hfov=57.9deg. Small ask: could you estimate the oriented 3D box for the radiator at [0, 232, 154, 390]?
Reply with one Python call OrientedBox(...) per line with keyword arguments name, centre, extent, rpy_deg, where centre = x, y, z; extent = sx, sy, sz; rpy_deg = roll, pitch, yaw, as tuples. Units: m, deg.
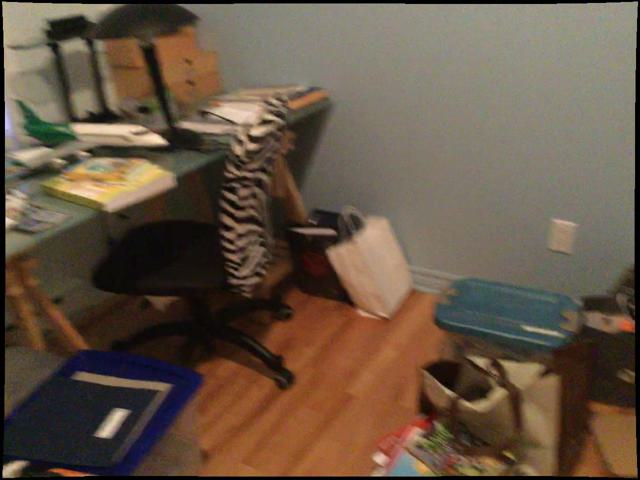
OrientedBox(name="radiator", centre=(-1.159, 0.410, 1.940), extent=(0.110, 0.230, 1.480), rpy_deg=(12, 34, 30))
